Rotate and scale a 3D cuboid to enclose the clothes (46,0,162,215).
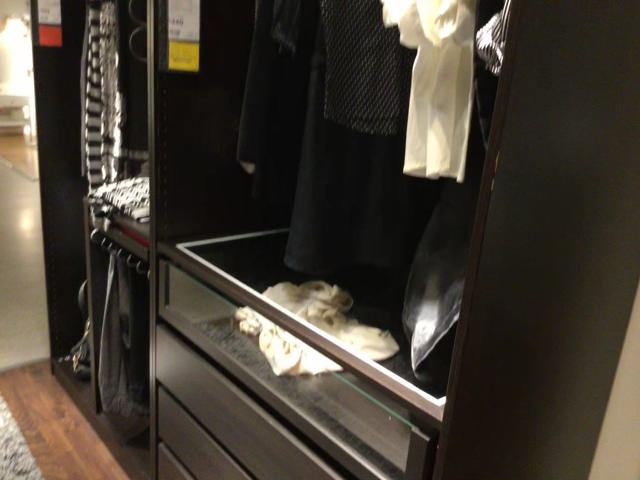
[{"bbox_3d":[-0.760,-0.710,2.010,0.250,1.170,0.400,-7,20,-40],"label":"clothes"}]
